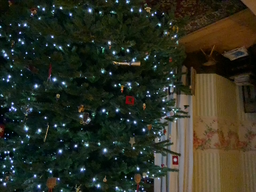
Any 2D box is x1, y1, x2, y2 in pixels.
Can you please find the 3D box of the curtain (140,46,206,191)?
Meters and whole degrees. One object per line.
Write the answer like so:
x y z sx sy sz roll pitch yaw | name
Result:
0.600 0.990 2.910 0.800 3.380 0.340 4 168 -6 | curtain

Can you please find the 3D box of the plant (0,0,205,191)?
-0.340 0.480 1.970 1.620 3.150 1.390 14 163 -42 | plant
